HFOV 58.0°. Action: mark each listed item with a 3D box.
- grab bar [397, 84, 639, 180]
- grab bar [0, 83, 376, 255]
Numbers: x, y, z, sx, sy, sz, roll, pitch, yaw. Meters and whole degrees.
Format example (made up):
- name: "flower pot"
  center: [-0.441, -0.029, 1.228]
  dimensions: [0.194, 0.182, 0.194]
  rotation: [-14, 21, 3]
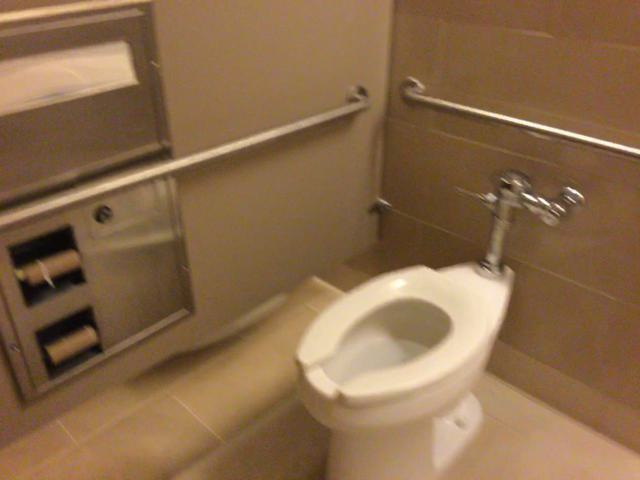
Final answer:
- name: "grab bar"
  center: [0.560, -0.240, 1.340]
  dimensions: [0.070, 0.080, 0.920]
  rotation: [-26, 37, -37]
- name: "grab bar"
  center: [-0.320, -0.160, 1.230]
  dimensions: [1.240, 0.100, 0.070]
  rotation: [-26, 37, -37]
